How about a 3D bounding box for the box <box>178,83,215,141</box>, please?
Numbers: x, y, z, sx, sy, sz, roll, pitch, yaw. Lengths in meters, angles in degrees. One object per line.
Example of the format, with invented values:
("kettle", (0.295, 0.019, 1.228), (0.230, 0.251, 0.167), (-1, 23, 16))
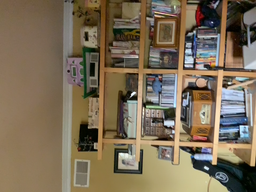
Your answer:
("box", (0.730, 0.160, 2.290), (0.230, 0.290, 0.590), (-73, -14, -88))
